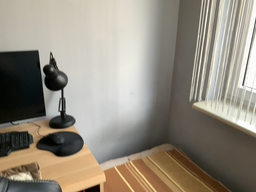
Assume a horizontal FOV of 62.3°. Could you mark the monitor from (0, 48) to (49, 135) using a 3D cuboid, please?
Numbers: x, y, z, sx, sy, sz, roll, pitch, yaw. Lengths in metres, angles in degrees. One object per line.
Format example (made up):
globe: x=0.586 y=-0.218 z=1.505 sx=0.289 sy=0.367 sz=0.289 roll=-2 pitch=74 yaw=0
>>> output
monitor: x=-0.730 y=0.000 z=1.030 sx=0.610 sy=0.430 sz=0.060 roll=-9 pitch=23 yaw=-28
